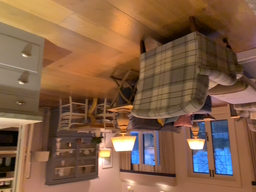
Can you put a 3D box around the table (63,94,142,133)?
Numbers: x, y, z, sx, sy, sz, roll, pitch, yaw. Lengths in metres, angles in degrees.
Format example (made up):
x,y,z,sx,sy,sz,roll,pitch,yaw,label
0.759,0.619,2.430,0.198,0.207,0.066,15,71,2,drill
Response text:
x,y,z,sx,sy,sz,roll,pitch,yaw,label
-0.670,0.590,6.160,1.110,0.820,2.010,-12,162,43,table

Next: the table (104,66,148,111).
x,y,z,sx,sy,sz,roll,pitch,yaw,label
-0.040,-0.090,3.600,0.410,0.590,0.650,11,163,-40,table

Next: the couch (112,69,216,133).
x,y,z,sx,sy,sz,roll,pitch,yaw,label
0.820,0.260,4.440,1.090,0.920,2.110,-12,162,43,couch

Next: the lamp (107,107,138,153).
x,y,z,sx,sy,sz,roll,pitch,yaw,label
-0.090,0.570,3.540,0.350,0.710,0.350,11,163,-41,lamp

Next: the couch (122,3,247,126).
x,y,z,sx,sy,sz,roll,pitch,yaw,label
0.620,-0.190,2.370,0.900,0.920,1.050,-12,163,43,couch
